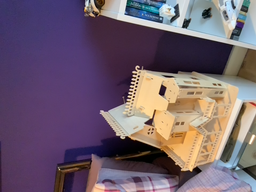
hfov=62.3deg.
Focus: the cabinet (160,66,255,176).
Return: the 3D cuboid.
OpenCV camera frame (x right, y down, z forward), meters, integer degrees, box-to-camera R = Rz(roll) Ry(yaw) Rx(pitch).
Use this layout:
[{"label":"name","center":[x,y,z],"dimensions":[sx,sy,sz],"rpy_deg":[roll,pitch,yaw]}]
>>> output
[{"label":"cabinet","center":[0.550,0.110,1.220],"dimensions":[0.380,0.510,0.430],"rpy_deg":[43,126,51]}]
